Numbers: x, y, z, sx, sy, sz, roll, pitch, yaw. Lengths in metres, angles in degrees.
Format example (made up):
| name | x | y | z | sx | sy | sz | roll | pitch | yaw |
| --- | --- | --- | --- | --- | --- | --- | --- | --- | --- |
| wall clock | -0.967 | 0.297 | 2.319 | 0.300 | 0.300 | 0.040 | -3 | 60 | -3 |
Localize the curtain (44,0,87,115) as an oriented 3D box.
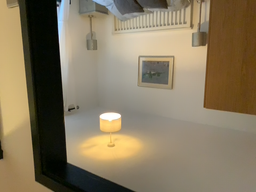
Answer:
| name | x | y | z | sx | sy | sz | roll | pitch | yaw |
| --- | --- | --- | --- | --- | --- | --- | --- | --- | --- |
| curtain | -1.030 | -0.920 | 3.540 | 0.130 | 2.380 | 0.630 | 8 | -166 | 36 |
